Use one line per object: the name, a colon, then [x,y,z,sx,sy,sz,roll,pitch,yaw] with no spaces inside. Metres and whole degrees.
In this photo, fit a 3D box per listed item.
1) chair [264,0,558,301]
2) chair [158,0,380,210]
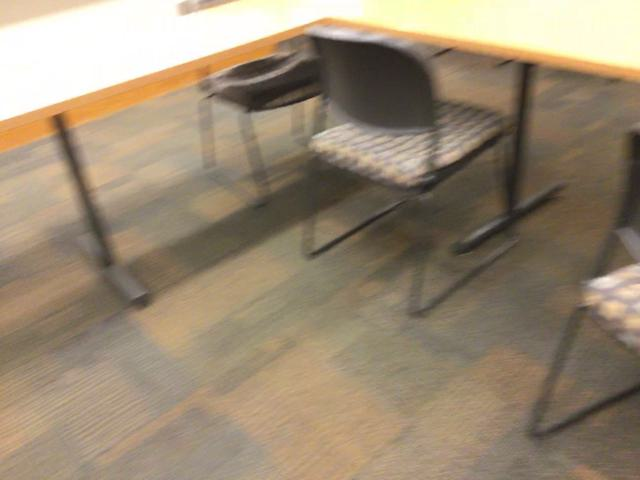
chair: [0.280,-0.340,1.770,0.630,0.700,0.510,-28,38,-31]
chair: [-0.190,-0.640,2.300,0.490,0.740,0.670,-29,38,-32]
